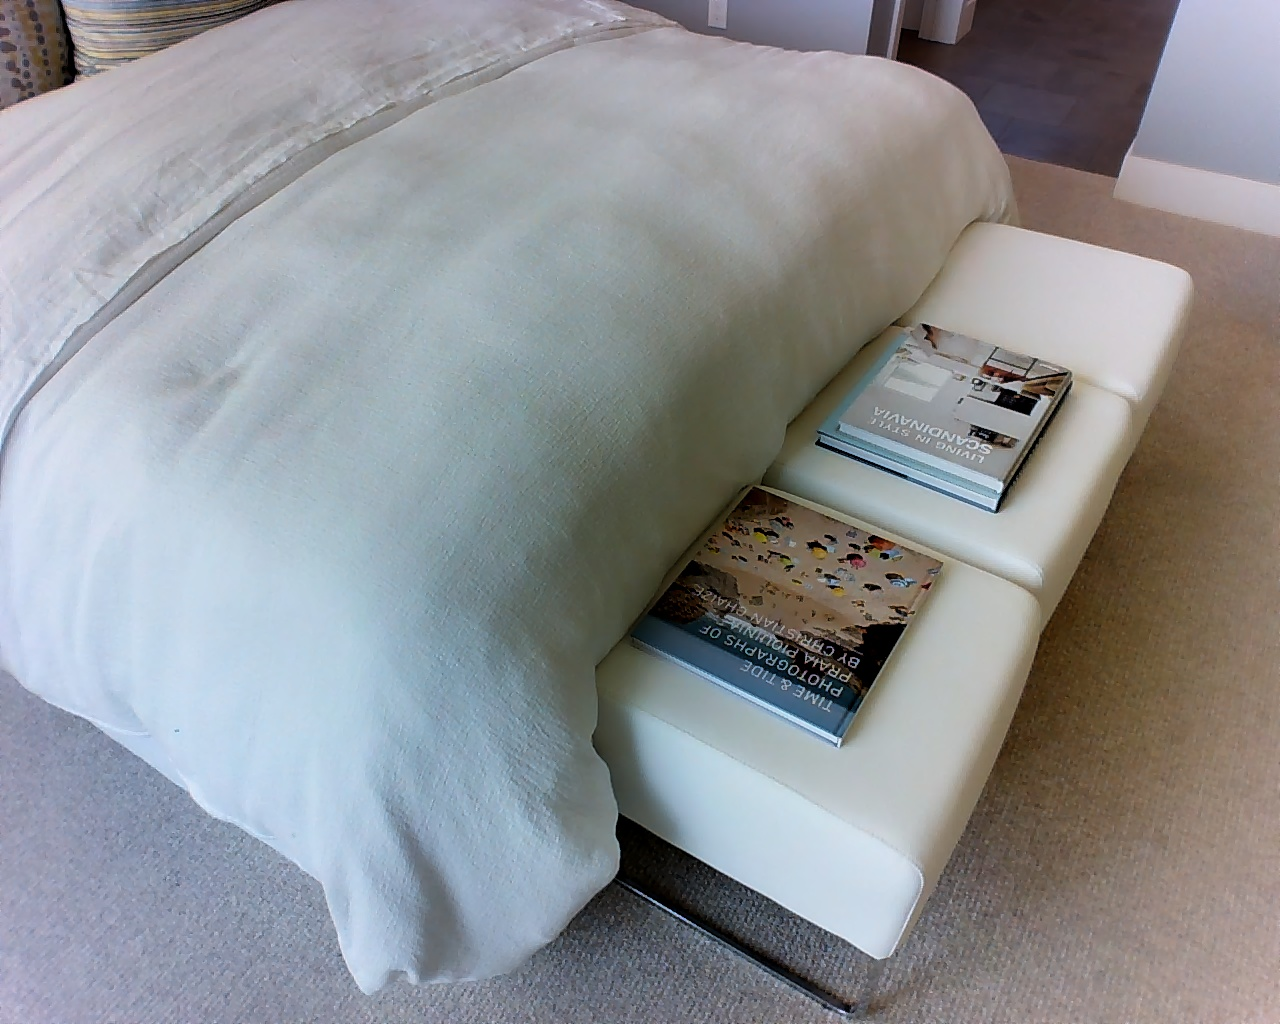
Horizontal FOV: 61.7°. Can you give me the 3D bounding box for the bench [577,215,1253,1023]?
[{"bbox_3d":[0.550,0.060,1.840,0.500,0.460,1.520,24,47,24],"label":"bench"}]
